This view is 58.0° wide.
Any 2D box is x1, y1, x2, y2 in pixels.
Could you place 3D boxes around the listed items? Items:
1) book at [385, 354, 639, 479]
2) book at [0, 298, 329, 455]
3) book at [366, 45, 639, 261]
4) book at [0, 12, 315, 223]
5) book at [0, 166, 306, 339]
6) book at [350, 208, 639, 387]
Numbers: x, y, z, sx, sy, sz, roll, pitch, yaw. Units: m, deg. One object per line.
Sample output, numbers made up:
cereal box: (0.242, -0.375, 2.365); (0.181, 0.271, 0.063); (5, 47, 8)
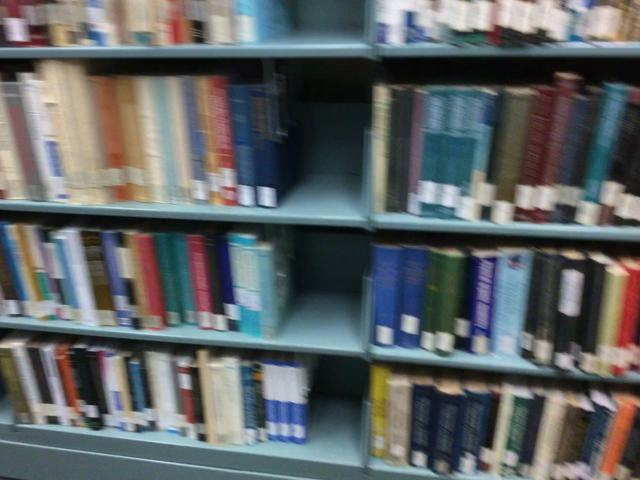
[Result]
book: (0.530, 0.440, 1.240); (0.750, 0.390, 0.090); (-1, 24, 12)
book: (-0.440, 0.330, 1.470); (0.880, 0.300, 0.210); (-1, 24, 12)
book: (0.540, -0.160, 0.990); (0.880, 0.300, 0.250); (-1, 24, 12)
book: (-0.440, -0.240, 1.180); (0.800, 0.330, 0.240); (-1, 24, 12)
book: (-0.450, 0.030, 1.320); (0.780, 0.310, 0.210); (-1, 24, 12)
book: (0.480, 0.110, 1.110); (0.810, 0.300, 0.150); (-1, 24, 12)
